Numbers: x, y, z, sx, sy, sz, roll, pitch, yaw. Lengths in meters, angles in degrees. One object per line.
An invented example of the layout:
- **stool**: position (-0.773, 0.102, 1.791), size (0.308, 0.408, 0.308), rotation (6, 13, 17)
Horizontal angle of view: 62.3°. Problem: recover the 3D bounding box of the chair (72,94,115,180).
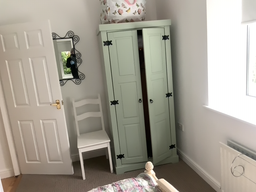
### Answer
- **chair**: position (-0.480, 0.510, 2.870), size (0.420, 0.940, 0.570), rotation (-8, 12, -14)
